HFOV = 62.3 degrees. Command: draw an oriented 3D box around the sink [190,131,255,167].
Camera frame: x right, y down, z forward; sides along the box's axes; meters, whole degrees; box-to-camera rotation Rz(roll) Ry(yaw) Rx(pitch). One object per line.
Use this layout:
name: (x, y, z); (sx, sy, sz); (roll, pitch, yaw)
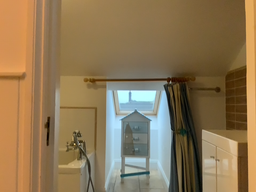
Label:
sink: (0.730, 0.350, 1.490); (0.470, 0.080, 0.610); (1, 1, 6)
